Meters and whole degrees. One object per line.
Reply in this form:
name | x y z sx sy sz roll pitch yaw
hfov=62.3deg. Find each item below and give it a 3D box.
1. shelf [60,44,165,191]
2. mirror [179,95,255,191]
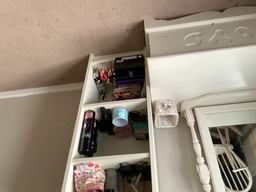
shelf | -0.060 0.160 1.230 0.440 1.050 0.270 -6 140 6
mirror | 0.590 0.270 1.120 0.530 0.570 0.120 -6 140 5
